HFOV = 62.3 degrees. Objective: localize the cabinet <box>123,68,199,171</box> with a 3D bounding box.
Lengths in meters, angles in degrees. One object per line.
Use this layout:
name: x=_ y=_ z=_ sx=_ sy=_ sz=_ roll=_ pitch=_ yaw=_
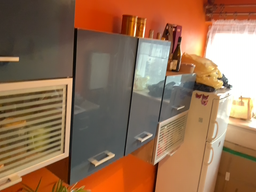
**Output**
cabinet: x=0.310 y=0.150 z=1.930 sx=0.320 sy=0.750 sz=0.650 roll=15 pitch=17 yaw=36
